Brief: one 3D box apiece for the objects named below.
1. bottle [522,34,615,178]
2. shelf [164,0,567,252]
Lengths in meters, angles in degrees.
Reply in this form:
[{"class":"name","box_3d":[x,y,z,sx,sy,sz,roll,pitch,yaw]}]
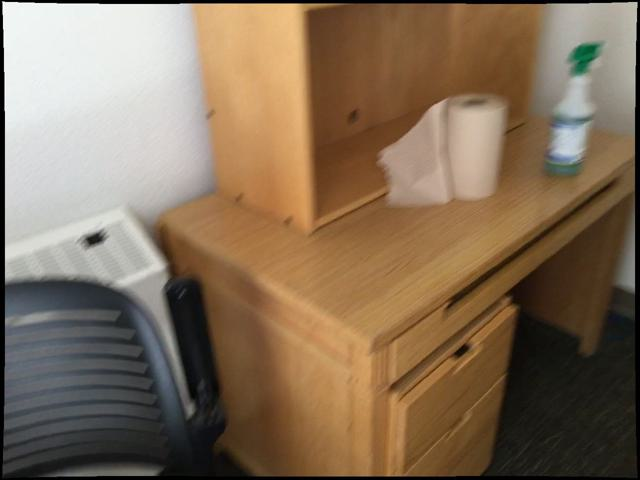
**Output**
[{"class":"bottle","box_3d":[0.588,-0.321,1.380,0.120,0.301,0.110,-22,35,-30]},{"class":"shelf","box_3d":[0.180,-0.561,1.370,1.009,0.772,0.380,-28,38,-37]}]
